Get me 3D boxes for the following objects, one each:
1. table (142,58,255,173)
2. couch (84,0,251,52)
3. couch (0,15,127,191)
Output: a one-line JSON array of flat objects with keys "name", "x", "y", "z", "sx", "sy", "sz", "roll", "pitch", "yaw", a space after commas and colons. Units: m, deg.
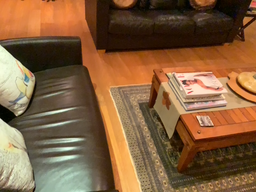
[{"name": "table", "x": 0.830, "y": 0.080, "z": 1.710, "sx": 1.230, "sy": 0.400, "sz": 0.690, "roll": -6, "pitch": 44, "yaw": -16}, {"name": "couch", "x": 0.420, "y": -1.150, "z": 2.770, "sx": 1.890, "sy": 0.730, "sz": 0.870, "roll": -5, "pitch": 44, "yaw": -15}, {"name": "couch", "x": -0.590, "y": 0.130, "z": 1.210, "sx": 0.790, "sy": 0.690, "sz": 1.250, "roll": -6, "pitch": 44, "yaw": -16}]
